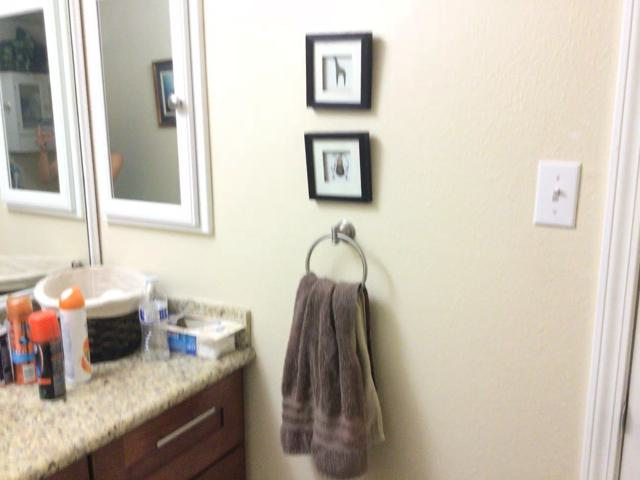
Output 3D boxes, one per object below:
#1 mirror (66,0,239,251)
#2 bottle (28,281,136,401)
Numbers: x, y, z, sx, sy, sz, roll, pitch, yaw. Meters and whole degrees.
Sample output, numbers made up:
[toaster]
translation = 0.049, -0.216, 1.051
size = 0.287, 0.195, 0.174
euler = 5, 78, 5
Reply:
[mirror]
translation = -0.440, -0.340, 1.510
size = 0.430, 0.700, 0.140
euler = 4, 10, 32
[bottle]
translation = -0.540, 0.220, 1.310
size = 0.220, 0.220, 0.100
euler = 4, 10, 32
